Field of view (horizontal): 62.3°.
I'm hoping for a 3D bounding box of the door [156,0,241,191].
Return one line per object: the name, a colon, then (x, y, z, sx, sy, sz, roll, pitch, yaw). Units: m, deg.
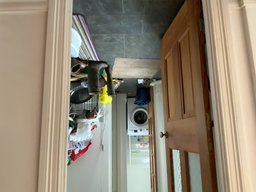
door: (0.400, 0.320, 1.420, 0.150, 2.080, 0.830, 0, 170, -6)
